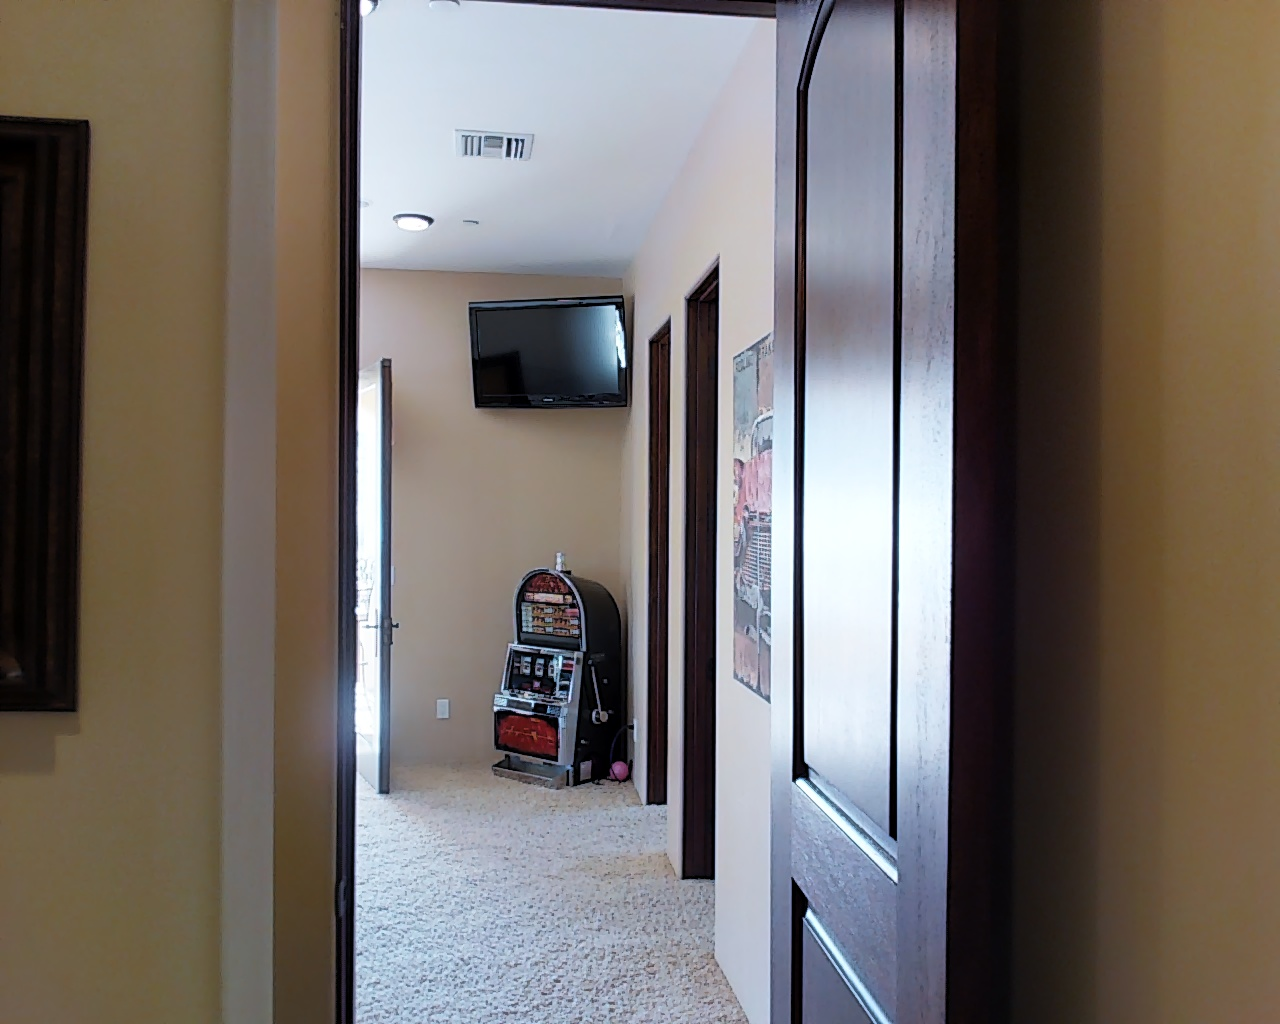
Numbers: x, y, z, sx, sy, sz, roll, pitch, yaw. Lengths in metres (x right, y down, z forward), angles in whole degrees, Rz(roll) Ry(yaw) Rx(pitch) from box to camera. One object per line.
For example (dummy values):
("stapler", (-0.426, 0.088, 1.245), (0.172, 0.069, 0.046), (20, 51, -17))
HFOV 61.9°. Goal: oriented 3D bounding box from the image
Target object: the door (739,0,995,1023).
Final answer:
("door", (0.260, 0.270, 1.450), (0.070, 2.510, 0.820), (0, 0, -8))
